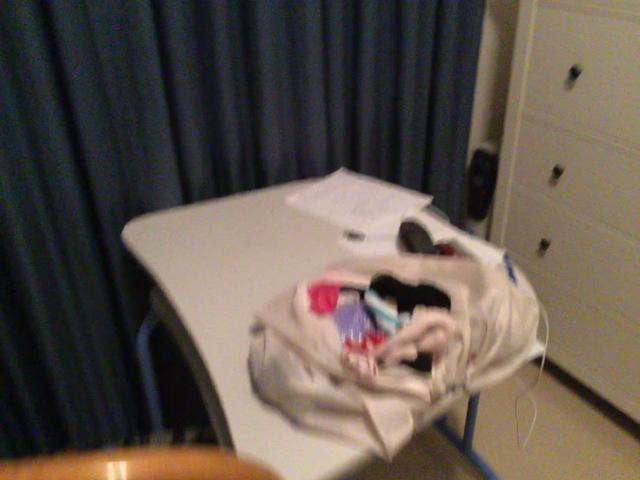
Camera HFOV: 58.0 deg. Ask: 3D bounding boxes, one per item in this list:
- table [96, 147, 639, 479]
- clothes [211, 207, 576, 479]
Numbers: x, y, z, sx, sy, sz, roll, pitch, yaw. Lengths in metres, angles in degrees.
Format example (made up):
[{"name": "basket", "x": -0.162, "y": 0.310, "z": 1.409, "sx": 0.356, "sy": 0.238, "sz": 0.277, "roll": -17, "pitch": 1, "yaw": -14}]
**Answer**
[{"name": "table", "x": 0.040, "y": 0.350, "z": 1.310, "sx": 0.750, "sy": 0.800, "sz": 0.920, "roll": -16, "pitch": 28, "yaw": -23}, {"name": "clothes", "x": 0.100, "y": 0.120, "z": 0.870, "sx": 0.430, "sy": 0.160, "sz": 0.300, "roll": -16, "pitch": 28, "yaw": -23}]
